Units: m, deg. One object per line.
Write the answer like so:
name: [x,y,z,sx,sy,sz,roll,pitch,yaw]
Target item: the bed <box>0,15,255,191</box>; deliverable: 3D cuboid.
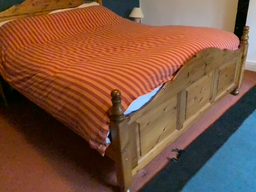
bed: [-0.190,-0.330,2.220,1.700,0.680,2.160,-27,34,-36]
